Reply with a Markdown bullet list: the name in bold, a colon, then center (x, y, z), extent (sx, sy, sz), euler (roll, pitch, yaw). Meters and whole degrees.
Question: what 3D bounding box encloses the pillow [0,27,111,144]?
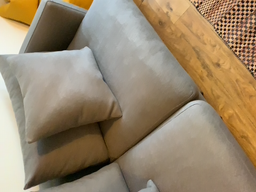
- **pillow**: center (-0.400, -0.080, 1.300), extent (0.200, 0.500, 0.630), euler (-50, 33, 31)
